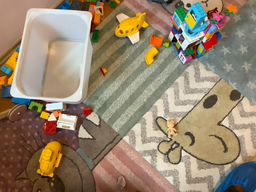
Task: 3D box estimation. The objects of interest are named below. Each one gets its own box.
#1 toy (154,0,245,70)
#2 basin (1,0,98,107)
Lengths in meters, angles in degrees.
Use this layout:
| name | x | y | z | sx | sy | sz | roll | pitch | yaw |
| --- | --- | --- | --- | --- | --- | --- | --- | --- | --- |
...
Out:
| name | x | y | z | sx | sy | sz | roll | pitch | yaw |
| --- | --- | --- | --- | --- | --- | --- | --- | --- | --- |
| toy | 0.320 | -0.350 | 1.030 | 0.250 | 0.330 | 0.250 | 35 | 80 | 7 |
| basin | -0.350 | -0.200 | 1.050 | 0.330 | 0.250 | 0.450 | 3 | 77 | 1 |
